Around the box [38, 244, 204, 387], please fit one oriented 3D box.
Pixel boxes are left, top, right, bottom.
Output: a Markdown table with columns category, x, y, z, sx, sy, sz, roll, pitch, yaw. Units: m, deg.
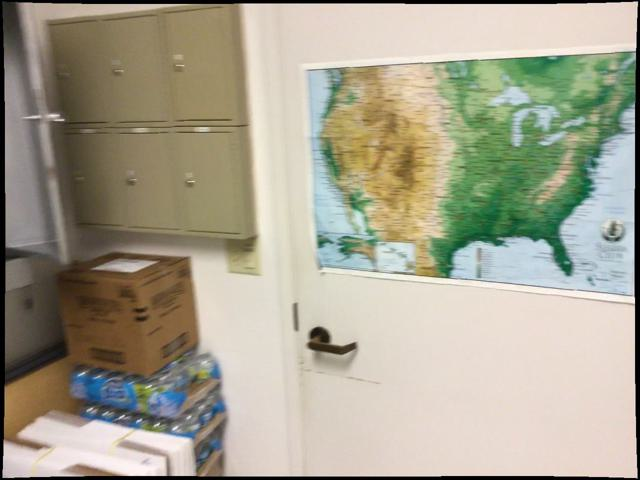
| category | x | y | z | sx | sy | sz | roll | pitch | yaw |
| --- | --- | --- | --- | --- | --- | --- | --- | --- | --- |
| box | -0.589 | 0.210 | 1.750 | 0.360 | 0.320 | 0.260 | 4 | 15 | 23 |
